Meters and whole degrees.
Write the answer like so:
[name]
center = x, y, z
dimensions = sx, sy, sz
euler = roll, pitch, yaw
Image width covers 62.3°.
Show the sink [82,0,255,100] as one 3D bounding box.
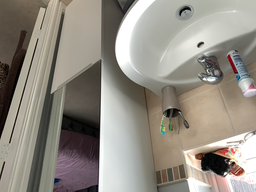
[sink]
center = 0.200, -0.250, 0.740
dimensions = 0.570, 0.170, 0.430
euler = -27, 140, 30
